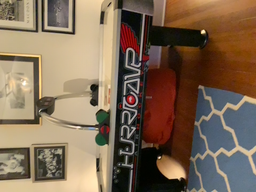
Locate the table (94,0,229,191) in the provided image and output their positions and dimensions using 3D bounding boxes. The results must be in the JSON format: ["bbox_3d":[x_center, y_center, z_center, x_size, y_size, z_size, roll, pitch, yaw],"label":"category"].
[{"bbox_3d":[0.130,0.080,2.170,1.140,0.810,1.900,-132,45,-71],"label":"table"}]
